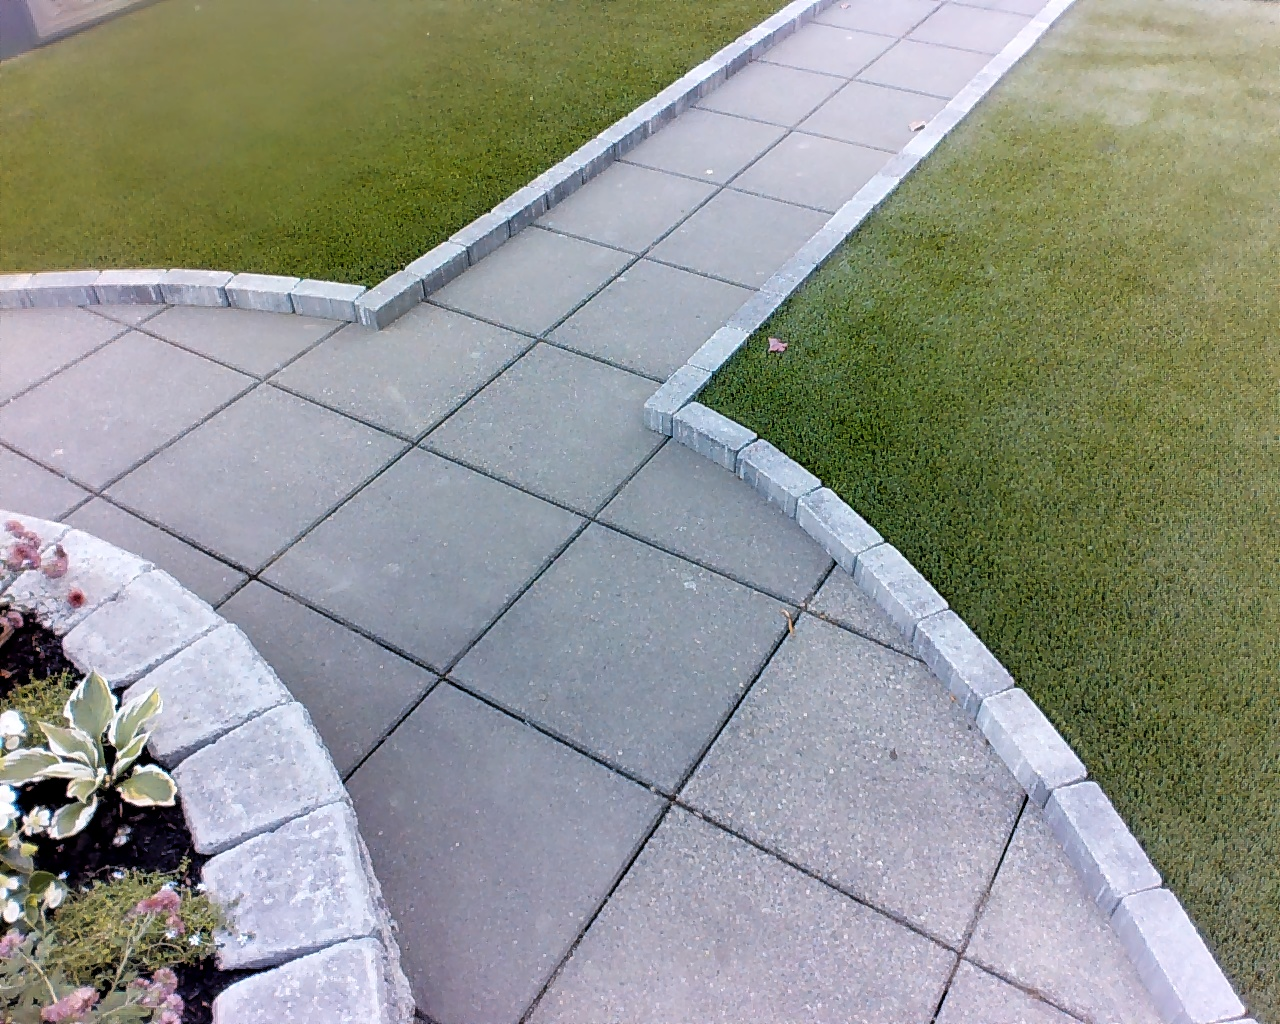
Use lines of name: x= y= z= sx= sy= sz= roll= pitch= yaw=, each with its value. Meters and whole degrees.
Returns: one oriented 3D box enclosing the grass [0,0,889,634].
grass: x=-1.270 y=-1.450 z=3.650 sx=2.740 sy=0.150 sz=5.200 roll=23 pitch=48 yaw=24
